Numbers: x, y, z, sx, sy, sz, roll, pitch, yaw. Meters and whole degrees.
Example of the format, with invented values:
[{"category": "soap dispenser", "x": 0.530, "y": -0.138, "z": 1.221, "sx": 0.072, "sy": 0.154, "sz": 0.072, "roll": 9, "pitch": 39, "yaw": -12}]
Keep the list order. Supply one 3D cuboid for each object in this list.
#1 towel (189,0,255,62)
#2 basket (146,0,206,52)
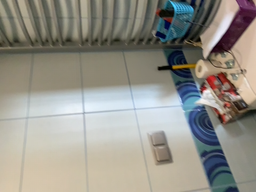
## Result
[{"category": "towel", "x": 0.460, "y": -0.360, "z": 1.070, "sx": 0.320, "sy": 0.130, "sz": 0.210, "roll": 105, "pitch": 158, "yaw": -58}, {"category": "basket", "x": 0.220, "y": -0.350, "z": 1.050, "sx": 0.240, "sy": 0.200, "sz": 0.120, "roll": 106, "pitch": 157, "yaw": -59}]
